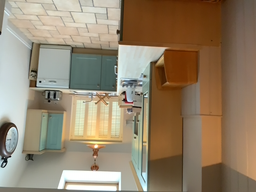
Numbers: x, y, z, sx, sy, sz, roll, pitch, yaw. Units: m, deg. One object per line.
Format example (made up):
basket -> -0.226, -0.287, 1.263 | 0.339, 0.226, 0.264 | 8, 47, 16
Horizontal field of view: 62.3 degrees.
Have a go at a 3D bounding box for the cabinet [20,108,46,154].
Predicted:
cabinet -> -1.840, 0.670, 4.130 | 0.310, 0.840, 0.280 | 3, 174, -4

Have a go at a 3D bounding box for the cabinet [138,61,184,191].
cabinet -> 0.310, 0.340, 2.130 | 0.310, 1.260, 0.540 | 3, 174, -3
